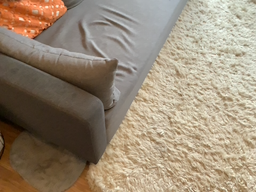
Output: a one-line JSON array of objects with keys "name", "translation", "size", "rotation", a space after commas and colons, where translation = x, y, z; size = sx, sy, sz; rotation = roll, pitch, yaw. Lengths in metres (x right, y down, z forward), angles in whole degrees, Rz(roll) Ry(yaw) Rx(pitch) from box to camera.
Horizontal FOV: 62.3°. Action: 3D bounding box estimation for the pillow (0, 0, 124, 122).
[{"name": "pillow", "translation": [-0.350, -0.170, 0.960], "size": [0.610, 0.300, 0.230], "rotation": [24, 58, 11]}]
